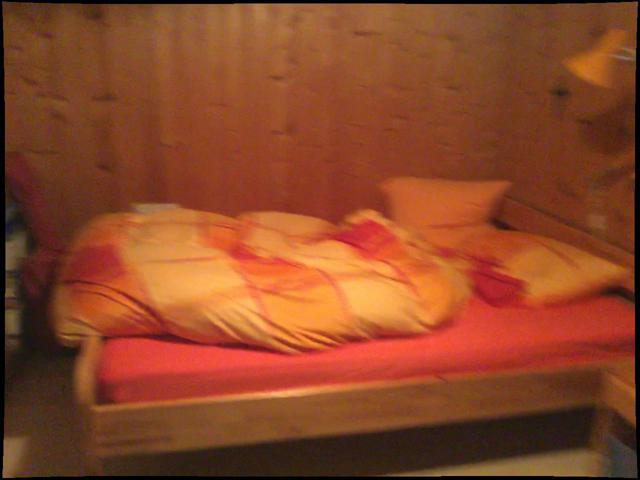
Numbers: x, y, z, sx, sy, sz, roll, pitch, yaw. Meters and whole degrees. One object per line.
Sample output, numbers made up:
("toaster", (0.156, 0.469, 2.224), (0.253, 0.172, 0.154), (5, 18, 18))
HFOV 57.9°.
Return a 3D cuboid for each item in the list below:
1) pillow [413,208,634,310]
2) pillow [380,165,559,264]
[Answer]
("pillow", (0.839, 0.050, 2.550), (0.609, 0.160, 0.750), (-2, 20, -12))
("pillow", (0.729, -0.160, 2.990), (0.649, 0.320, 0.640), (-2, 20, -12))
